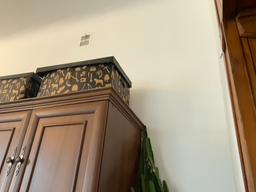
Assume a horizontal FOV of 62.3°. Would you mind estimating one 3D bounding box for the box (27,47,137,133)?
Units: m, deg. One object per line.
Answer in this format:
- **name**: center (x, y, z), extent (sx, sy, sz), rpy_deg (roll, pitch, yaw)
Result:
- **box**: center (-0.270, 0.000, 1.470), extent (0.510, 0.350, 0.500), rpy_deg (-6, -29, 20)
